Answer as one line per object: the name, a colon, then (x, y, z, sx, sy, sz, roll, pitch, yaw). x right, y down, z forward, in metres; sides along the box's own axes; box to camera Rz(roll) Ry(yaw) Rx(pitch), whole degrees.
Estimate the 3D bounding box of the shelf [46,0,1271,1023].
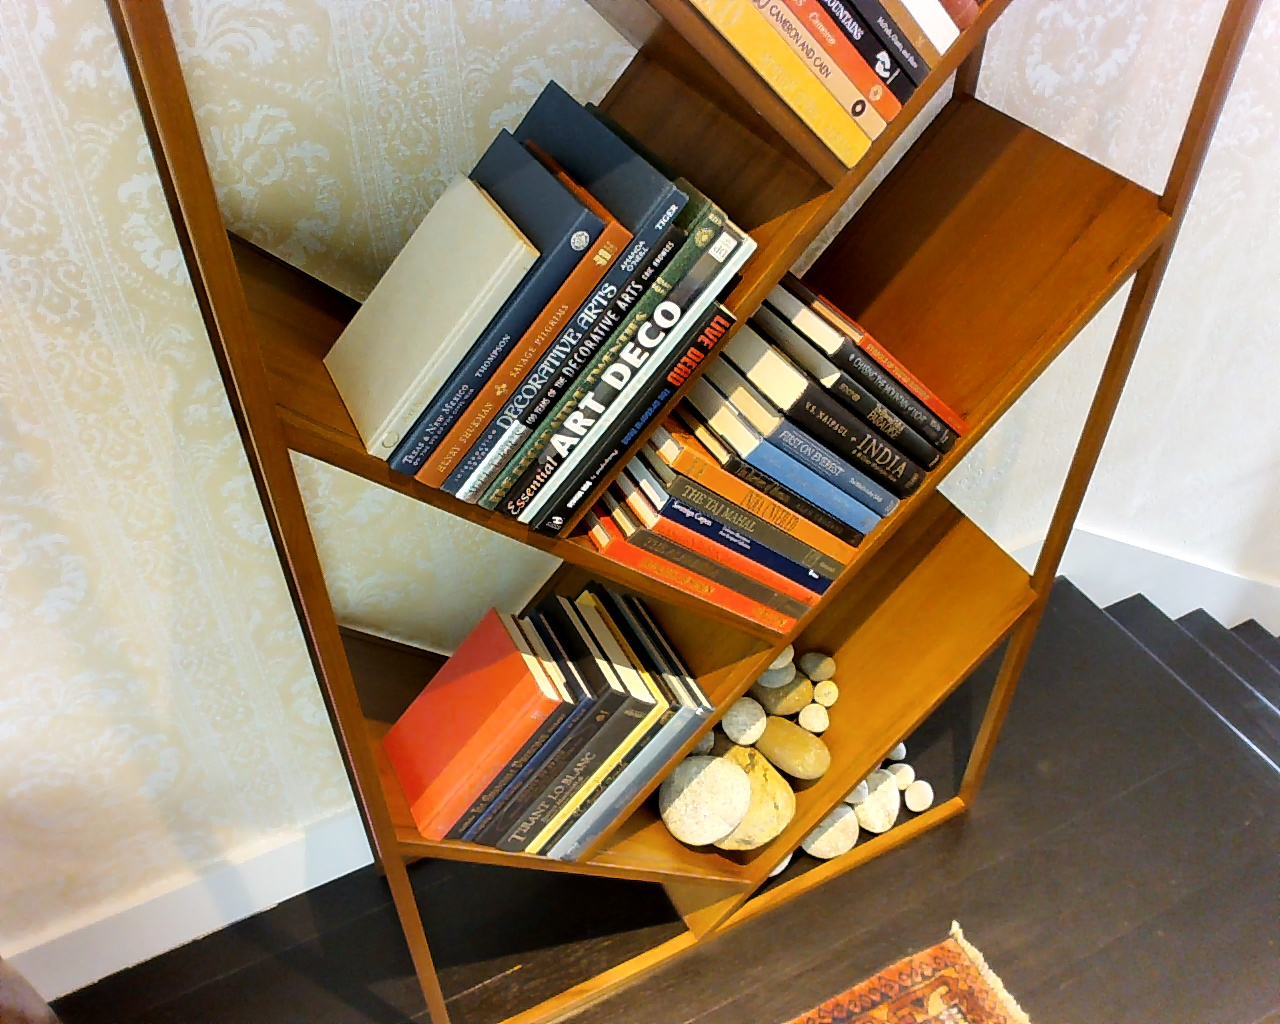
shelf: (0.030, -0.180, 1.070, 0.890, 1.940, 0.400, -19, 46, -19)
